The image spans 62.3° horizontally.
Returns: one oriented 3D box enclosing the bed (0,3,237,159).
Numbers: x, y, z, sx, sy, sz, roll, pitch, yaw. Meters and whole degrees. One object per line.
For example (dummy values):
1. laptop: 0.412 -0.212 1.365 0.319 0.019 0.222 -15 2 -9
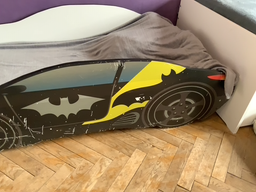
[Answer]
1. bed: -0.360 -0.190 1.330 1.620 0.500 0.850 -8 40 -15
